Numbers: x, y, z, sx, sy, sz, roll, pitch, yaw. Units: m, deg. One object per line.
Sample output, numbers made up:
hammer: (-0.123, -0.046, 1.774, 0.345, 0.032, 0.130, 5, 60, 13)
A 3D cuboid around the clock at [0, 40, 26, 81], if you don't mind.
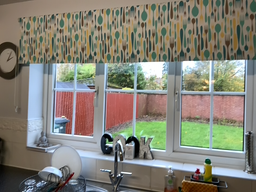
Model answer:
clock: (-1.010, -0.300, 1.820, 0.310, 0.340, 0.020, 2, 0, 18)
